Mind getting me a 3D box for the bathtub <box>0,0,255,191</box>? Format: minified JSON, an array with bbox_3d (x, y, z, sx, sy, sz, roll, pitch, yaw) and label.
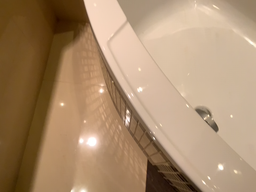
[{"bbox_3d":[0.460,-0.070,0.850,1.370,0.610,1.390,5,71,1],"label":"bathtub"}]
